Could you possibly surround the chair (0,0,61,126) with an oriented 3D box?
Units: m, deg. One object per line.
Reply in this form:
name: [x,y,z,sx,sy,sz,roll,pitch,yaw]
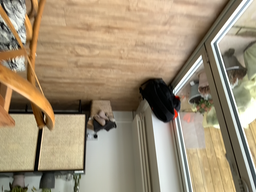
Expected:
chair: [-0.580,-0.360,0.850,0.510,0.870,0.420,0,155,-9]
